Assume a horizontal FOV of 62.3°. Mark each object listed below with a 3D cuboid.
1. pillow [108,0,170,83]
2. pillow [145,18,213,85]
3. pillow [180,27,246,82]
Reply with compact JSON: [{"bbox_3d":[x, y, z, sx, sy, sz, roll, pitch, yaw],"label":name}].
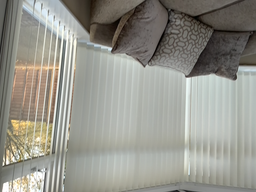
[{"bbox_3d":[0.120,-0.500,1.720,0.230,0.550,0.610,13,-147,24],"label":"pillow"},{"bbox_3d":[0.470,-0.440,2.010,0.550,0.520,0.260,-15,-152,-27],"label":"pillow"},{"bbox_3d":[0.850,-0.430,2.210,0.520,0.500,0.260,-1,-152,2],"label":"pillow"}]
